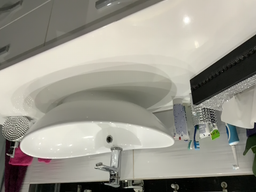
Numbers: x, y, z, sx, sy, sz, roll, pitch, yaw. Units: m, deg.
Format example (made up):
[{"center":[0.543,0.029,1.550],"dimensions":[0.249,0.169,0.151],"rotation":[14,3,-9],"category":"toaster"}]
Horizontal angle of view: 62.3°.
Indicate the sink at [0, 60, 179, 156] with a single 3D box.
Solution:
[{"center":[-0.160,0.100,0.790],"dimensions":[0.590,0.140,0.370],"rotation":[-13,152,26],"category":"sink"}]
